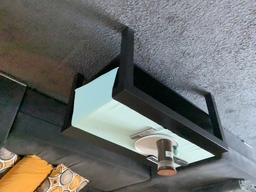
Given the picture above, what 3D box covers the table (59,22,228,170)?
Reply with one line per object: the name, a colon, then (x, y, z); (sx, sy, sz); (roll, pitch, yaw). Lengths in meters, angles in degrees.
table: (0.130, 0.090, 1.400); (0.900, 0.460, 0.530); (30, 134, -32)
